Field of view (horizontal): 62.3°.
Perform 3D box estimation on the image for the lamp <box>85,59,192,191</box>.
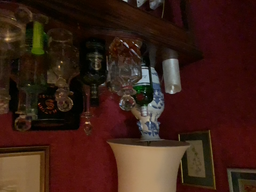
[{"bbox_3d":[0.040,0.220,1.070,0.370,0.670,0.330,7,164,-41],"label":"lamp"}]
